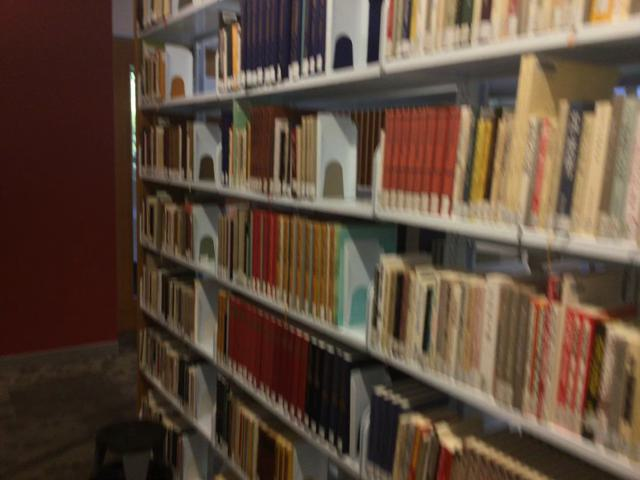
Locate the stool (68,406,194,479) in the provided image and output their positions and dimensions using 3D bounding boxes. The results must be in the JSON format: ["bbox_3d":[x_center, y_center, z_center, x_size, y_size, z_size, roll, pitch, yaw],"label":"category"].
[{"bbox_3d":[-0.780,0.960,2.360,0.390,0.360,0.370,-2,11,-35],"label":"stool"}]
